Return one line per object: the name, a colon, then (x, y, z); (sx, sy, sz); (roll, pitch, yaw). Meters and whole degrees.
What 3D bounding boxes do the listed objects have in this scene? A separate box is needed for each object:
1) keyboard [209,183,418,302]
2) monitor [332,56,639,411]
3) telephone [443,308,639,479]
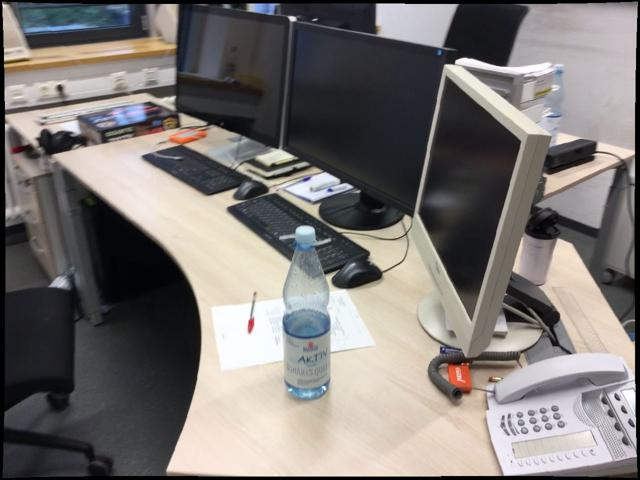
keyboard: (-0.040, -0.020, 1.530); (0.240, 0.030, 0.580); (-22, 35, -34)
monitor: (0.290, -0.050, 1.090); (0.360, 0.470, 0.400); (-22, 35, -34)
telephone: (0.420, 0.270, 0.890); (0.320, 0.090, 0.310); (-22, 35, -34)
